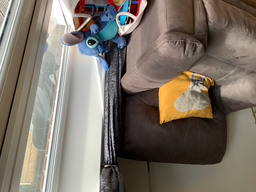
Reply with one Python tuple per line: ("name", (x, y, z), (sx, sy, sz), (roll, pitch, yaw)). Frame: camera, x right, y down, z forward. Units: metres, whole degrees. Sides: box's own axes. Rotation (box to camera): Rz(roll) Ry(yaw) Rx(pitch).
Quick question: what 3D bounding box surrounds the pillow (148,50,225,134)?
("pillow", (0.430, -0.010, 1.510), (0.500, 0.410, 0.200), (22, 154, -24))
